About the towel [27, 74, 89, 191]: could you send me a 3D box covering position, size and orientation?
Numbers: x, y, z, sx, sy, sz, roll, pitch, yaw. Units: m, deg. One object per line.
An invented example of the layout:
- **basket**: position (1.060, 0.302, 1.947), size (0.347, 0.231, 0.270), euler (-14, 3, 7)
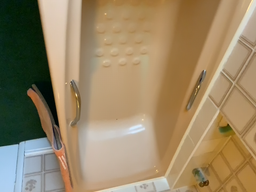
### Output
- **towel**: position (-0.420, 0.220, 1.260), size (0.150, 0.540, 0.490), euler (-17, 130, -22)

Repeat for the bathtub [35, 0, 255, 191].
- **bathtub**: position (-0.020, -0.130, 1.100), size (0.690, 0.520, 1.600), euler (-7, 136, -16)
